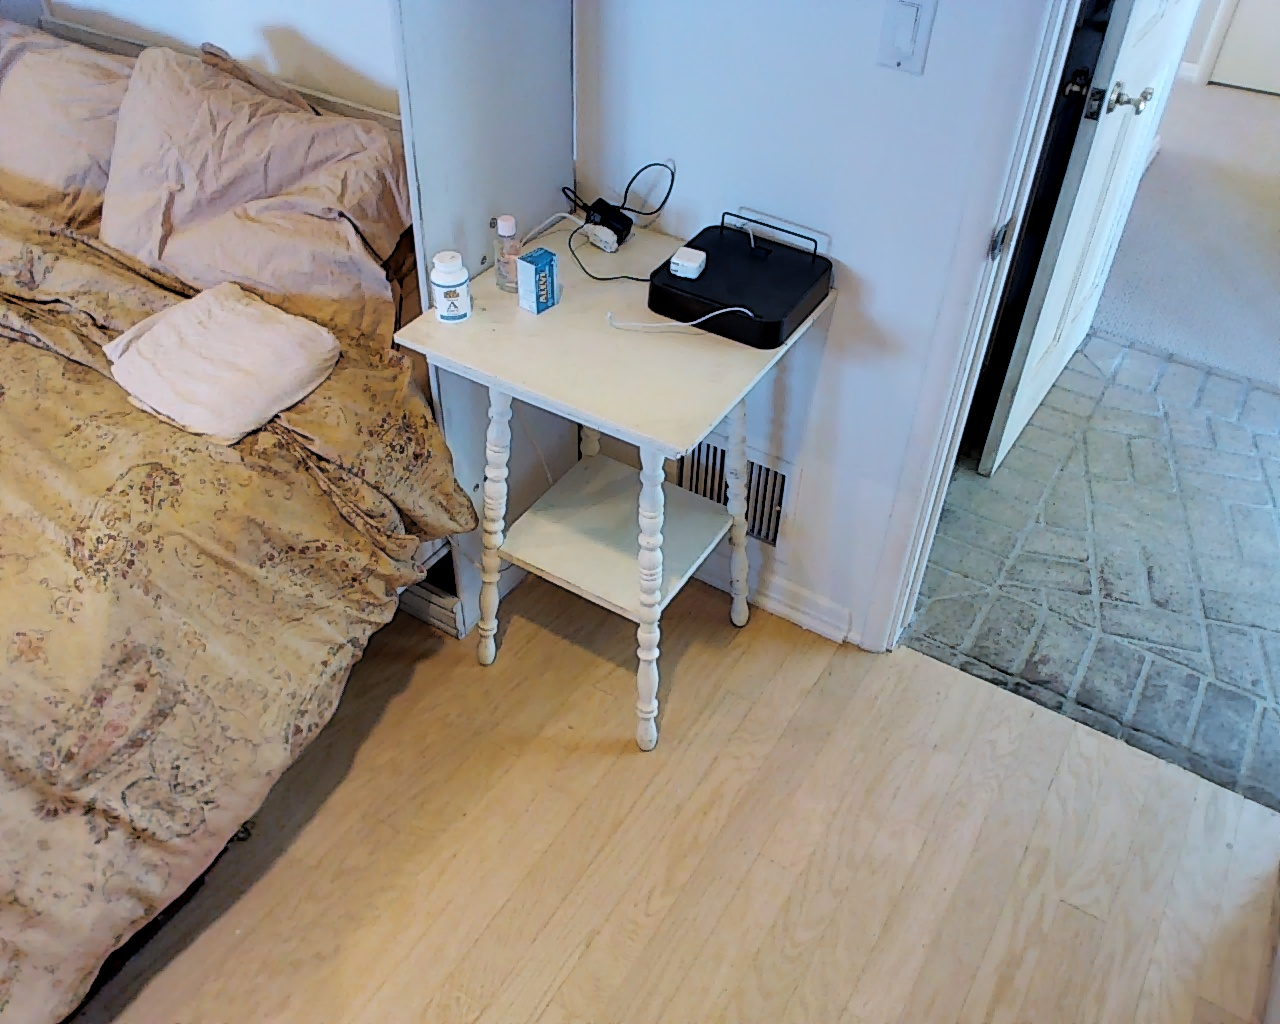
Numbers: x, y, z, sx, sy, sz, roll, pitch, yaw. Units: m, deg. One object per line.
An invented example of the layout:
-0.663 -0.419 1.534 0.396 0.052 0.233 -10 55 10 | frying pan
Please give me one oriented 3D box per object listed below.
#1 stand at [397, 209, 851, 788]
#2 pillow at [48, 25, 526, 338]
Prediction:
-0.020 -0.030 1.940 0.520 0.760 0.520 22 45 22 | stand
-0.620 -0.600 1.960 0.660 0.430 0.270 13 68 22 | pillow
